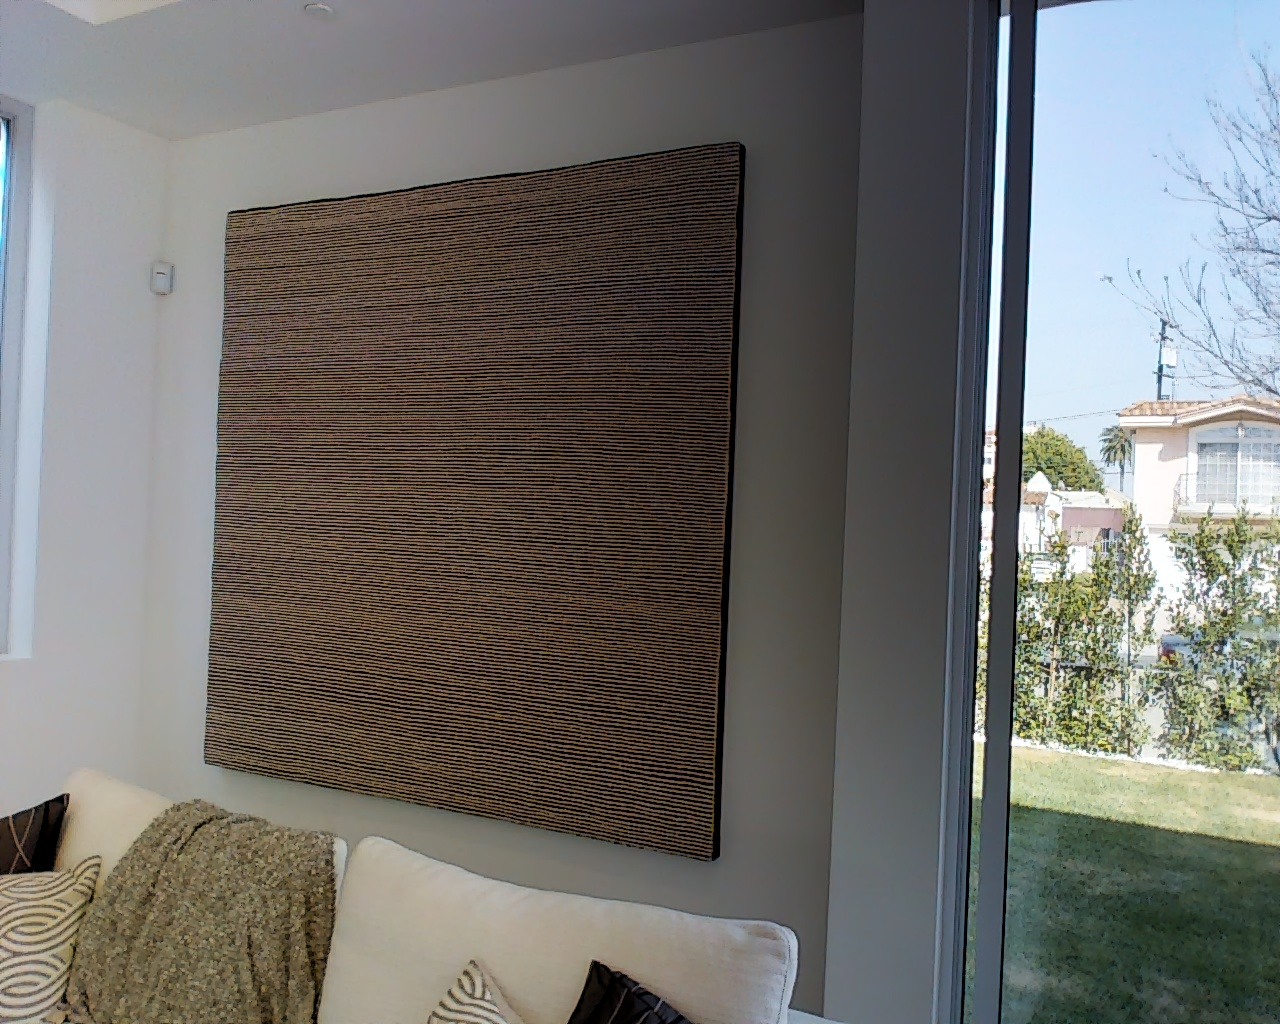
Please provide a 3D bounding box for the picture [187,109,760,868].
[{"bbox_3d":[-0.610,-0.090,3.240,1.959,1.931,0.100,2,-1,28],"label":"picture"}]

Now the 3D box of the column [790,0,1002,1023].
[{"bbox_3d":[0.590,0.170,2.490,0.340,2.841,0.250,2,-1,29],"label":"column"}]
